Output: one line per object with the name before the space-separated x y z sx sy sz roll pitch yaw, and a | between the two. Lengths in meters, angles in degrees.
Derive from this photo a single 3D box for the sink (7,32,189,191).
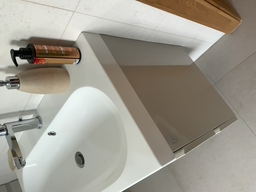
sink | -0.220 0.220 0.770 0.810 0.100 0.400 -44 68 36
